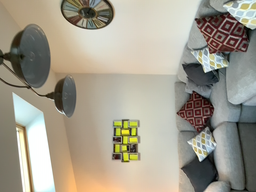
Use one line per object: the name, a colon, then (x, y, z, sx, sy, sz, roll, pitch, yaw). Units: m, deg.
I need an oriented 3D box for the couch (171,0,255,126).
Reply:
couch: (1.230, -0.440, 2.400, 2.970, 0.860, 1.010, 89, 180, -71)

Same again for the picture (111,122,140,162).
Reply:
picture: (-0.040, 0.760, 3.570, 0.060, 0.470, 0.650, 89, -178, -71)

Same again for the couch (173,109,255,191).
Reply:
couch: (1.210, 0.890, 2.970, 1.050, 0.930, 1.160, 85, -174, -72)
